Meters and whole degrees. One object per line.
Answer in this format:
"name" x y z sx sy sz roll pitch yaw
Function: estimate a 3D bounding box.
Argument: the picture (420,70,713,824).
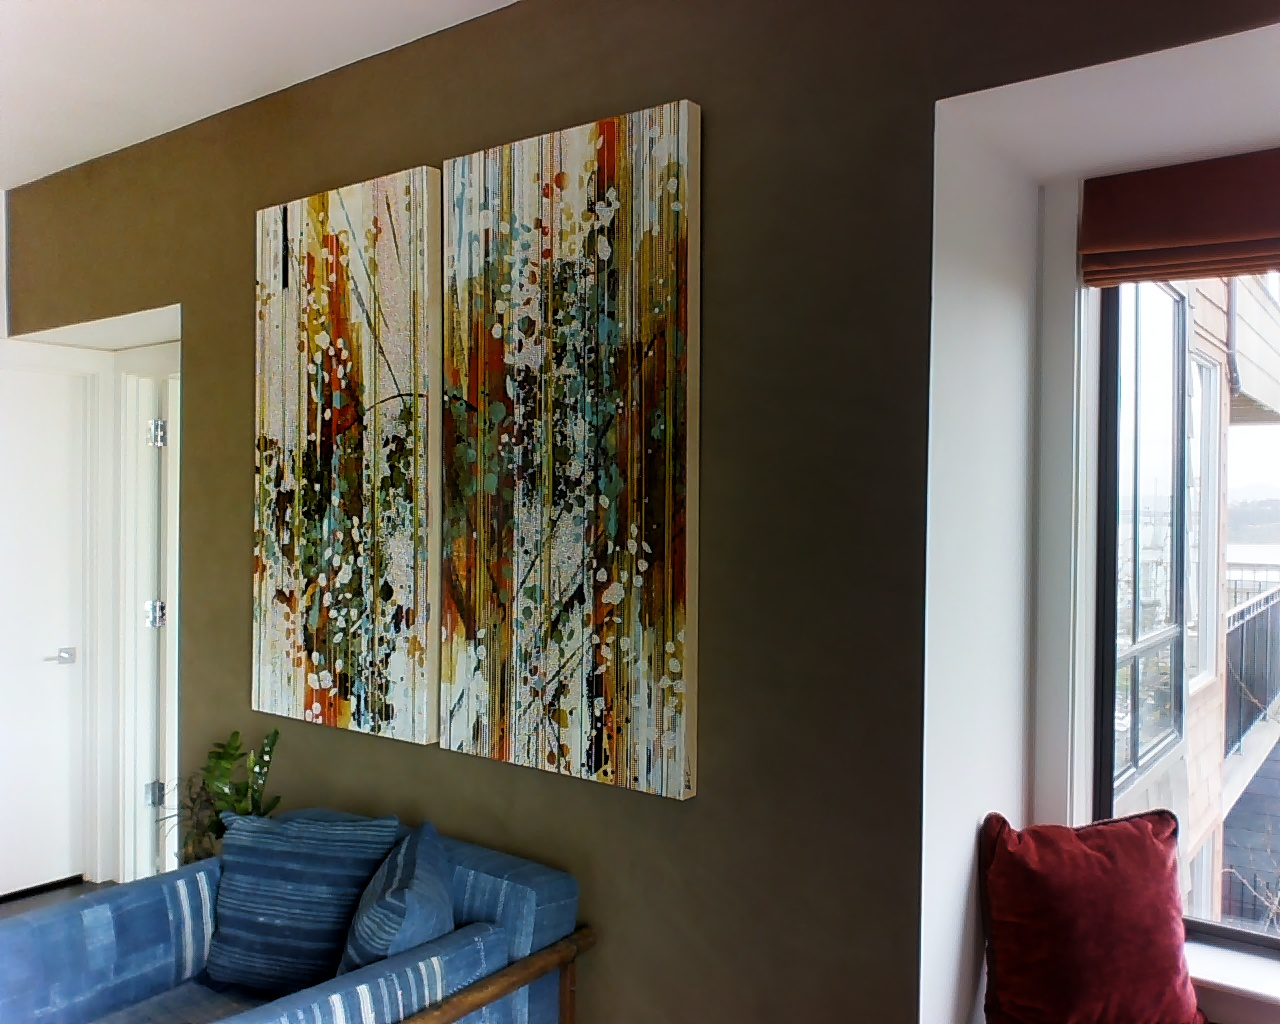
"picture" -0.190 -0.130 2.360 0.780 1.470 0.070 1 0 38

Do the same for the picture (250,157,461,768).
"picture" -0.760 -0.120 2.790 0.760 1.440 0.070 1 0 38

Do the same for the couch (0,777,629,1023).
"couch" -0.770 1.110 2.150 1.030 0.780 1.100 1 0 38

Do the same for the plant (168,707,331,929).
"plant" -1.050 0.800 2.880 0.400 0.470 0.230 1 0 38
